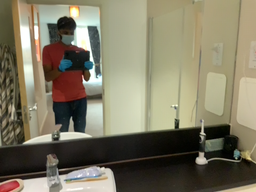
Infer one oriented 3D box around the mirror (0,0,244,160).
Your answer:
[{"bbox_3d":[-0.090,-0.380,1.050,1.510,1.360,0.040,-3,12,-14],"label":"mirror"}]
